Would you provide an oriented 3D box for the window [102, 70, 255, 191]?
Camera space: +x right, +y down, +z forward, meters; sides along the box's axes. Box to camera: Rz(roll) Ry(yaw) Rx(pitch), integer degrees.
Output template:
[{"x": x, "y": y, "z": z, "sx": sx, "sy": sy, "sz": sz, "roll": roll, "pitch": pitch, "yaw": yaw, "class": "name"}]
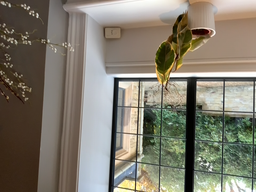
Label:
[{"x": 0.430, "y": 0.390, "z": 1.530, "sx": 1.250, "sy": 1.140, "sz": 0.130, "roll": 2, "pitch": 178, "yaw": 18, "class": "window"}]
